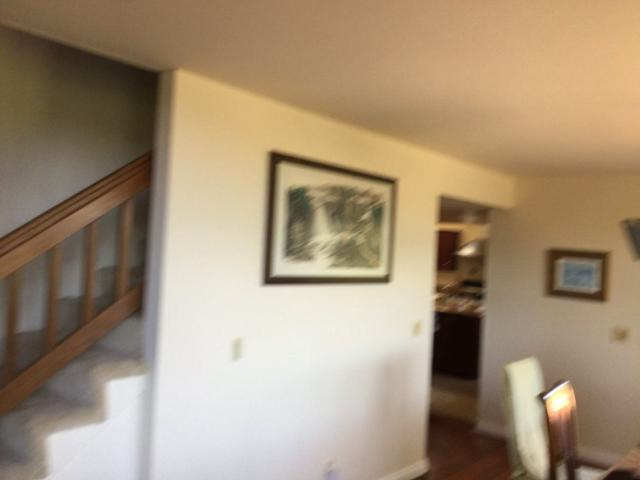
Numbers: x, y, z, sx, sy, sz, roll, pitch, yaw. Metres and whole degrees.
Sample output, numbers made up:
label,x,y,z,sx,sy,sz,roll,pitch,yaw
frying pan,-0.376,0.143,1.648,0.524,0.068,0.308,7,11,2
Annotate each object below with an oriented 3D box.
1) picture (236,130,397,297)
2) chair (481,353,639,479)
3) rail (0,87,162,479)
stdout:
label,x,y,z,sx,sy,sz,roll,pitch,yaw
picture,0.040,-0.100,3.390,0.120,0.840,1.230,-1,-4,42
chair,1.330,1.200,3.110,0.690,1.040,0.600,-1,-4,42
rail,-1.380,0.190,2.300,0.540,1.500,1.290,-1,-4,43
